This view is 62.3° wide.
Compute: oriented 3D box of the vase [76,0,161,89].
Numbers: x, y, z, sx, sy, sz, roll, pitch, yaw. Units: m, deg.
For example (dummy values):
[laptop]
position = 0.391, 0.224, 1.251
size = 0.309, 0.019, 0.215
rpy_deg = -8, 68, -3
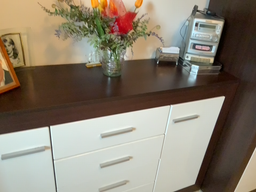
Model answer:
[vase]
position = -0.070, -0.280, 1.050
size = 0.320, 0.390, 0.250
rpy_deg = -7, 31, -23

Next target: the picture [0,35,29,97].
[picture]
position = -0.480, -0.120, 0.820
size = 0.150, 0.190, 0.170
rpy_deg = -5, 31, -20
